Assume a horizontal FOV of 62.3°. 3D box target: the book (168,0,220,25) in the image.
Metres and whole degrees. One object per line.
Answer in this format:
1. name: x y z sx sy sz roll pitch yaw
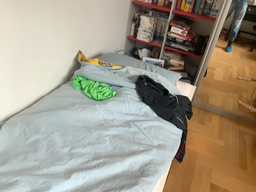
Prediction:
1. book: 0.770 -1.080 2.410 0.490 0.350 0.340 20 35 16

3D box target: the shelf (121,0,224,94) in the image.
1. shelf: 0.620 -1.370 2.330 0.990 2.650 0.420 21 35 16
